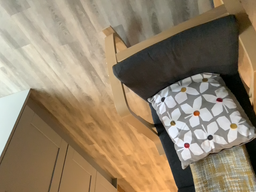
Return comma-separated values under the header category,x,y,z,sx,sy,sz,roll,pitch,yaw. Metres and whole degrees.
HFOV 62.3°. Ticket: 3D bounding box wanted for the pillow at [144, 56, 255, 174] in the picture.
category,x,y,z,sx,sy,sz,roll,pitch,yaw
pillow,0.420,0.080,1.170,0.490,0.410,0.210,-37,132,-3
